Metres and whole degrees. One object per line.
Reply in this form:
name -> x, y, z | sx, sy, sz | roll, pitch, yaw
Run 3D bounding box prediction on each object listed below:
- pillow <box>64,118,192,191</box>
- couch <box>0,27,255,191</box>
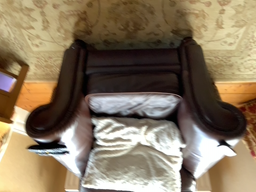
pillow -> 0.000, 0.410, 1.440 | 0.730, 0.440, 0.270 | 0, 147, 1
couch -> 0.050, 0.230, 1.440 | 1.080, 0.850, 0.980 | -1, 147, 2
